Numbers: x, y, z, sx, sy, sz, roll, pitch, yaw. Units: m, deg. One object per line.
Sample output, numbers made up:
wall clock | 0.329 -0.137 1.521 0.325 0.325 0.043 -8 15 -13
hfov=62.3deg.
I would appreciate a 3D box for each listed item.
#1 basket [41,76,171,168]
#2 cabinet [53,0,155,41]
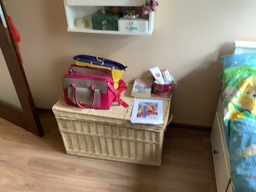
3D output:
basket | -0.130 0.180 1.740 0.890 0.440 0.470 6 34 10
cabinet | -0.160 -0.880 1.270 0.670 1.040 0.150 6 34 10
